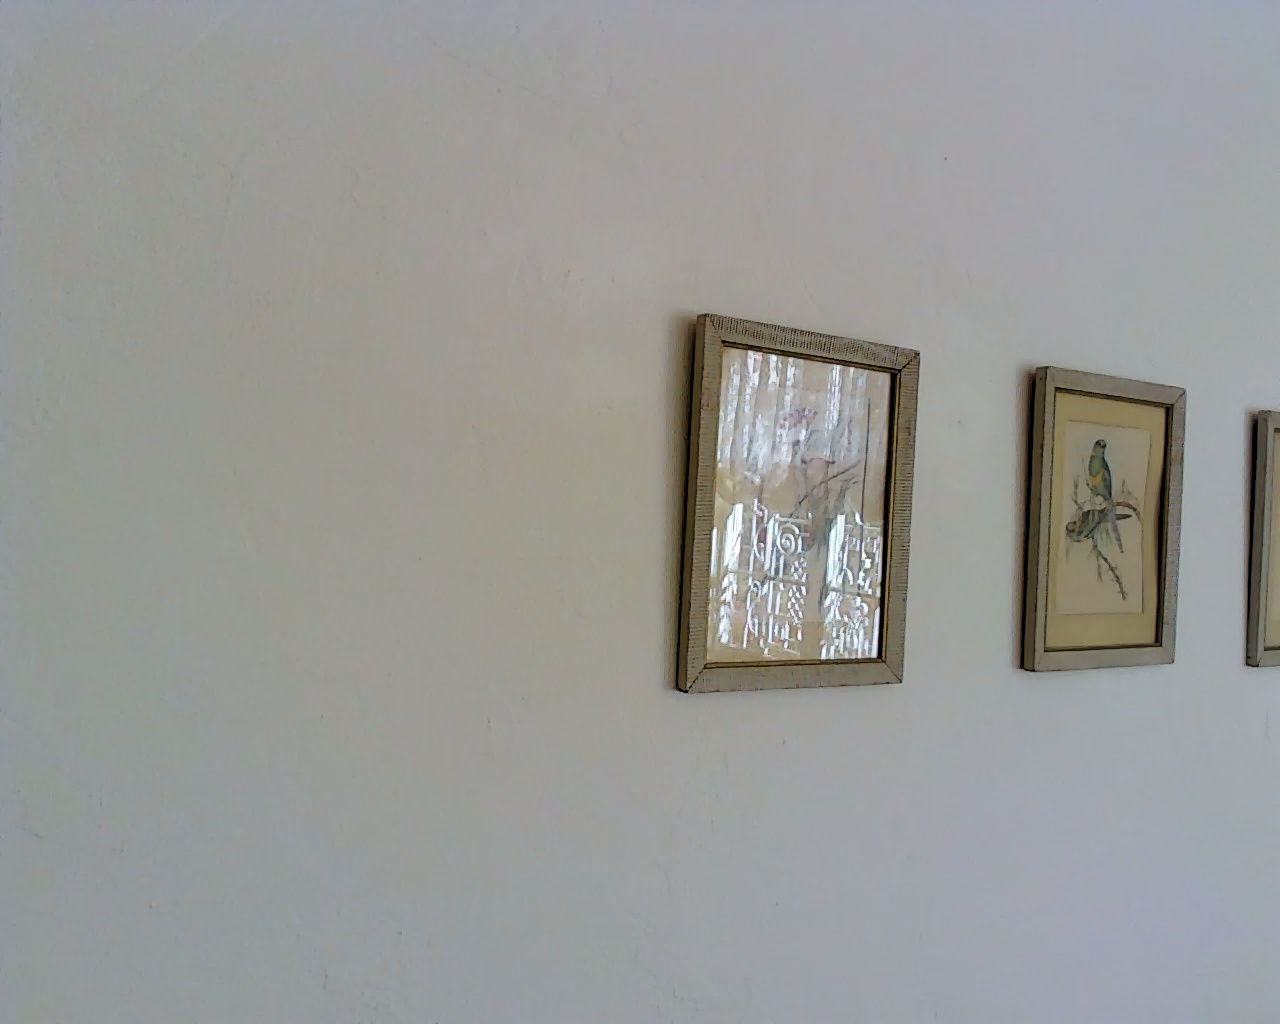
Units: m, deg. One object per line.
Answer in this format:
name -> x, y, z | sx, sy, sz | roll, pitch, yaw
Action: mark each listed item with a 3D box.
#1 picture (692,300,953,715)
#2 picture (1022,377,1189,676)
picture -> 0.190, 0.000, 1.070 | 0.300, 0.380, 0.030 | 2, -1, -30
picture -> 0.570, 0.020, 1.300 | 0.280, 0.340, 0.020 | 2, -1, -30
